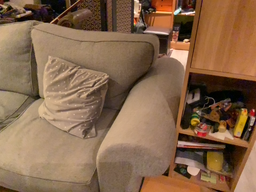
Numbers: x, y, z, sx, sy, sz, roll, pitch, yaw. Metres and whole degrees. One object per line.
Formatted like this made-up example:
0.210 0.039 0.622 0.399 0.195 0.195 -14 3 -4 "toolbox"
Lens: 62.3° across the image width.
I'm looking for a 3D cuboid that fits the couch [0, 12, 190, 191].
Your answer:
-0.680 0.020 1.430 1.970 0.910 0.980 8 32 14 "couch"
